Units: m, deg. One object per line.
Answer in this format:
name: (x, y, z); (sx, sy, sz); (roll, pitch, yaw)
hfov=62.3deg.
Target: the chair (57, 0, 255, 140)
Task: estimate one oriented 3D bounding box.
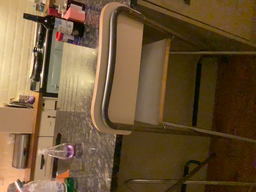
chair: (0.270, -0.050, 0.990); (0.440, 1.040, 0.410); (6, 89, 60)
